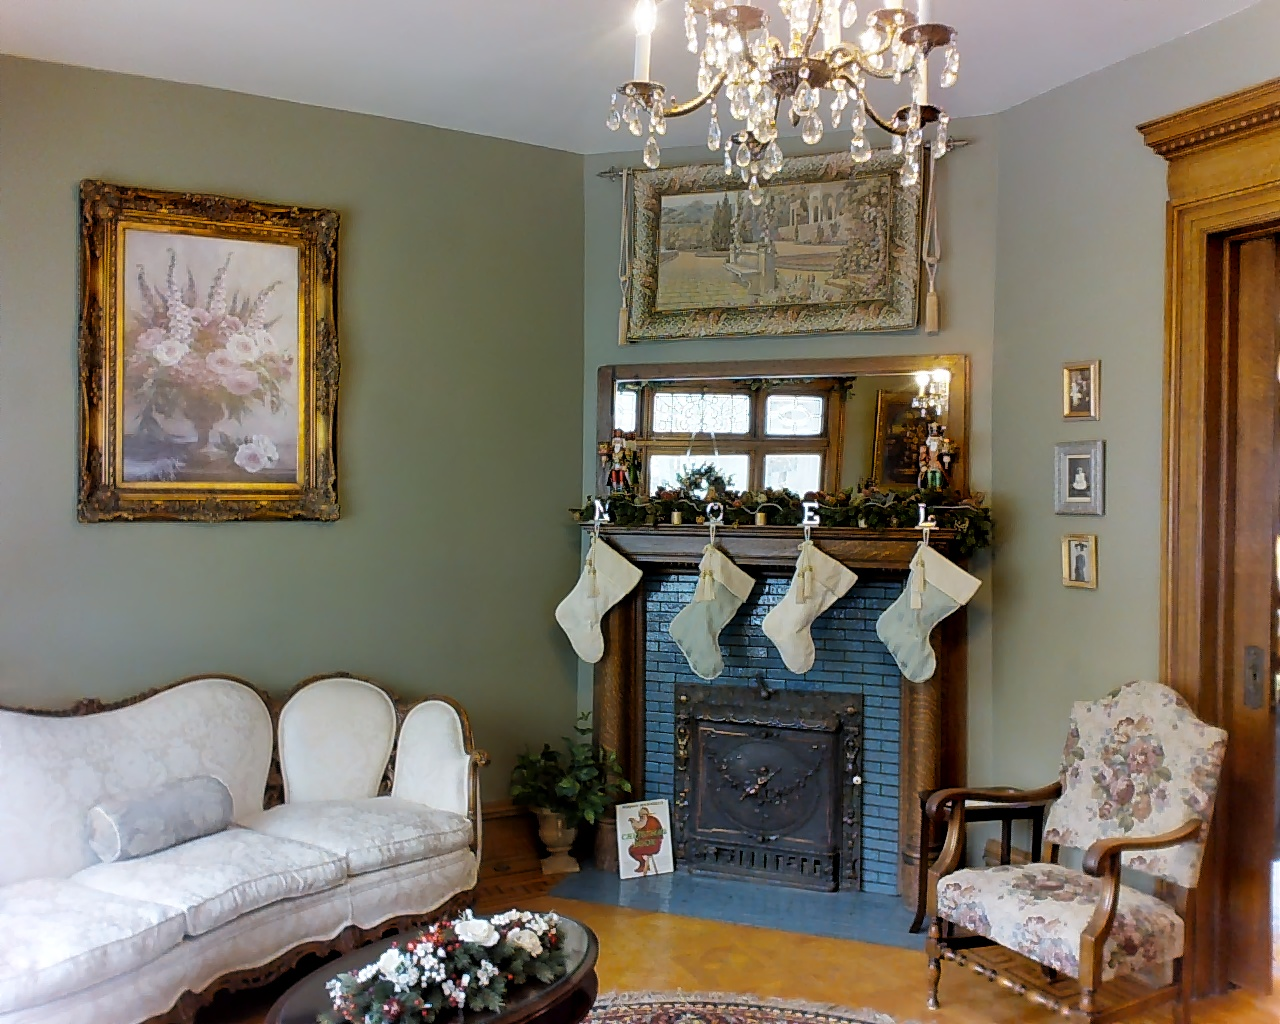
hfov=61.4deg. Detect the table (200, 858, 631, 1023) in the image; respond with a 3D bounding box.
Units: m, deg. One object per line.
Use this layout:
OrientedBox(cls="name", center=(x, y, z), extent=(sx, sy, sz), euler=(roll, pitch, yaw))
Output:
OrientedBox(cls="table", center=(-0.480, 1.240, 2.550), extent=(0.540, 0.500, 0.900), euler=(1, 0, 29))
